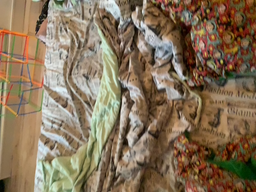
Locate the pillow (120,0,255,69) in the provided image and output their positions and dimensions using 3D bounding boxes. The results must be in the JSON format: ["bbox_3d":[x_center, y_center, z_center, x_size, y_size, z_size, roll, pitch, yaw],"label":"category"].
[{"bbox_3d":[0.250,-0.340,0.640,0.500,0.140,0.450,17,101,34],"label":"pillow"}]
